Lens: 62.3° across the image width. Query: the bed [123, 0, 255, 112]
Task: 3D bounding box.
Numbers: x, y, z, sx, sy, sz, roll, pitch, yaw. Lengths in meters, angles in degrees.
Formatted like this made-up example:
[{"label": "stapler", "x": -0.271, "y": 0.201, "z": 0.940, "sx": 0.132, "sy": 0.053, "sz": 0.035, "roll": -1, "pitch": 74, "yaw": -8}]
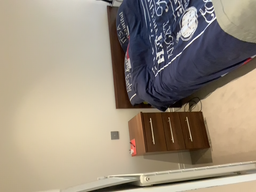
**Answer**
[{"label": "bed", "x": 0.570, "y": -0.840, "z": 1.810, "sx": 2.000, "sy": 0.590, "sz": 1.430, "roll": 129, "pitch": 138, "yaw": -64}]
